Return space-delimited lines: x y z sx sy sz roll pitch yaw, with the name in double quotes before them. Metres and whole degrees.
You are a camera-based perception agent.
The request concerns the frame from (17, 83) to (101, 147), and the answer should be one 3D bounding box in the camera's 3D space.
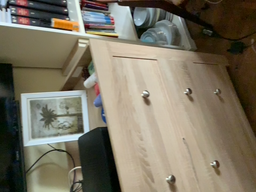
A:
"frame" -0.320 0.080 0.990 0.090 0.330 0.230 128 130 -60
